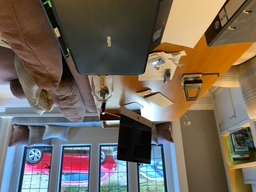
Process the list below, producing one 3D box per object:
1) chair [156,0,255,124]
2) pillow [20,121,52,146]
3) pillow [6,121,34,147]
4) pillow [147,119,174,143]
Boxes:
[{"bbox_3d":[0.760,-0.360,1.610,0.770,0.960,0.720,5,157,-18],"label":"chair"},{"bbox_3d":[-1.540,0.640,3.570,0.430,0.330,0.200,18,151,-41],"label":"pillow"},{"bbox_3d":[-1.770,0.630,3.500,0.280,0.370,0.290,-2,158,-2],"label":"pillow"},{"bbox_3d":[0.550,0.620,3.700,0.220,0.320,0.470,8,156,-23],"label":"pillow"}]
